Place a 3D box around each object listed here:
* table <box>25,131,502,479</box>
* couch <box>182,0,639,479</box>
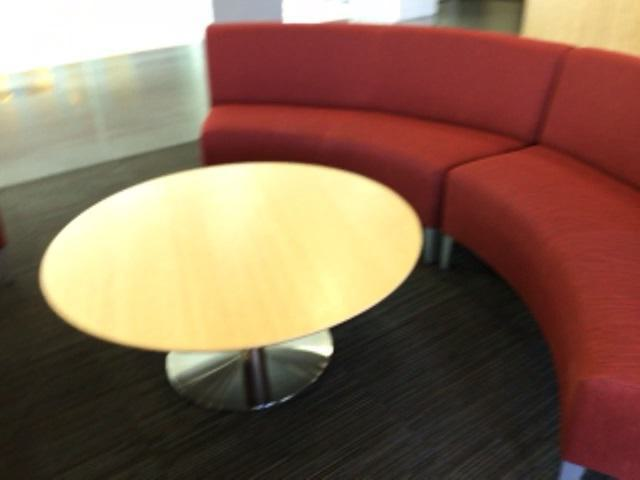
[{"bbox_3d":[-0.220,0.170,1.820,1.040,0.530,1.060,-21,33,-24],"label":"table"},{"bbox_3d":[0.630,-0.230,2.050,1.270,0.810,2.950,-20,32,-22],"label":"couch"}]
